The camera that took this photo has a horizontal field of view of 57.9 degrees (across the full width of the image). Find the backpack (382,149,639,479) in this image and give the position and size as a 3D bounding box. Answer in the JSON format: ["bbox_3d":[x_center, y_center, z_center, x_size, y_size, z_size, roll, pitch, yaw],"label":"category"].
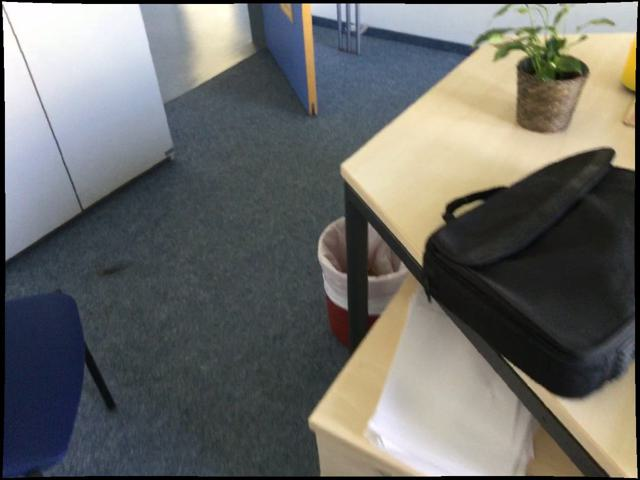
[{"bbox_3d":[0.350,0.090,0.770,0.400,0.160,0.350,-25,46,-21],"label":"backpack"}]

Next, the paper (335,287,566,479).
[{"bbox_3d":[0.220,0.240,0.970,0.280,0.060,0.280,22,48,27],"label":"paper"}]

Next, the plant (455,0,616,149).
[{"bbox_3d":[0.440,-0.410,1.180,0.230,0.350,0.190,22,48,27],"label":"plant"}]
